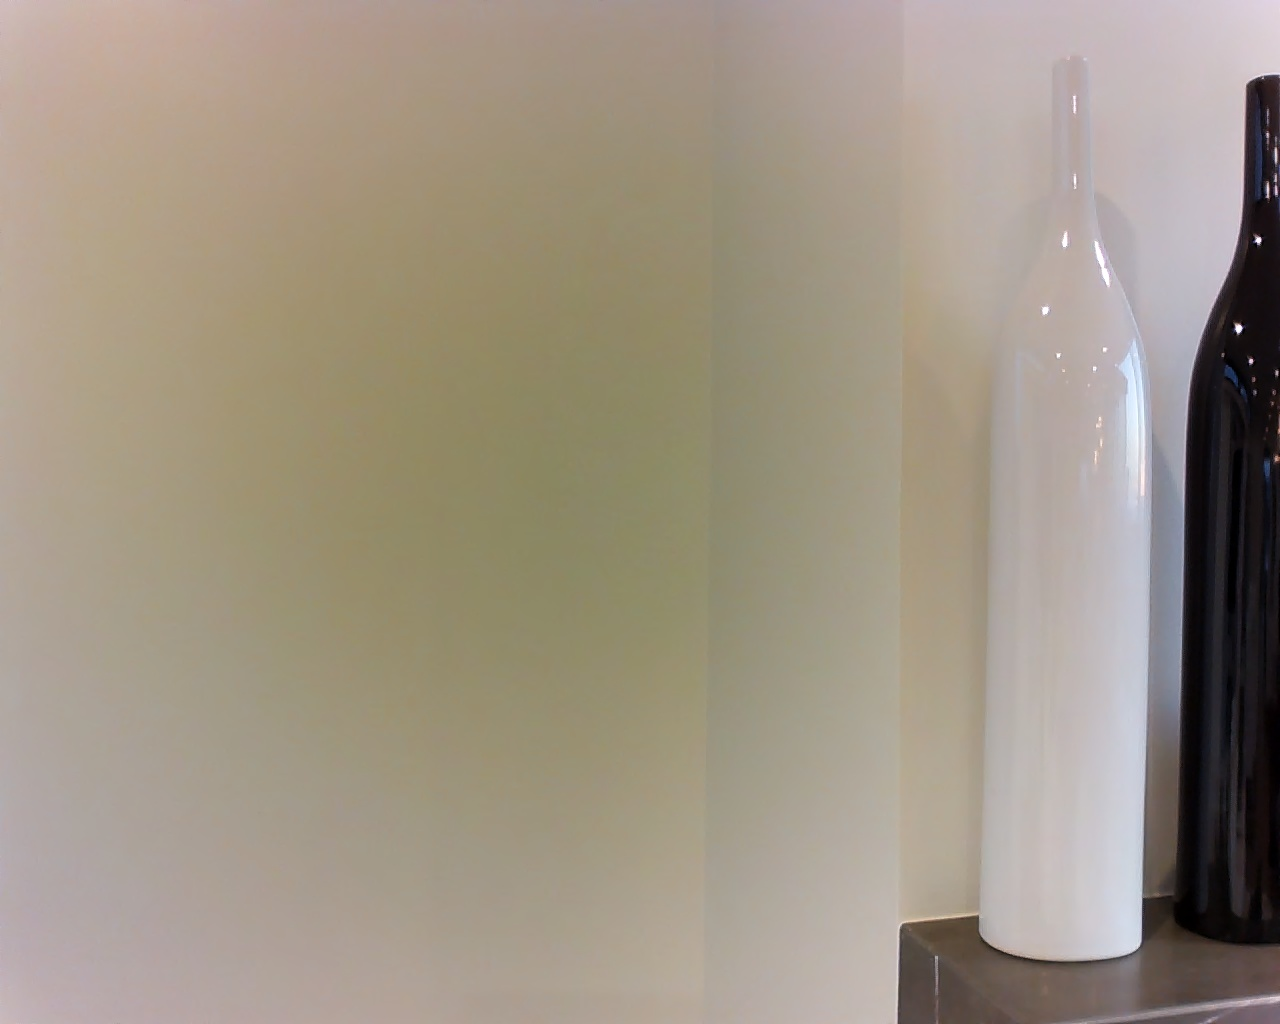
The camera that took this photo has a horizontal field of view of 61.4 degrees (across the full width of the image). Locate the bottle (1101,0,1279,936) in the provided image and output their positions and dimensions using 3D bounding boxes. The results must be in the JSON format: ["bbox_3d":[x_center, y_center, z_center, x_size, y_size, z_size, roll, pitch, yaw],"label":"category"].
[{"bbox_3d":[0.490,-0.030,0.790,0.250,0.630,0.100,1,1,-12],"label":"bottle"}]
